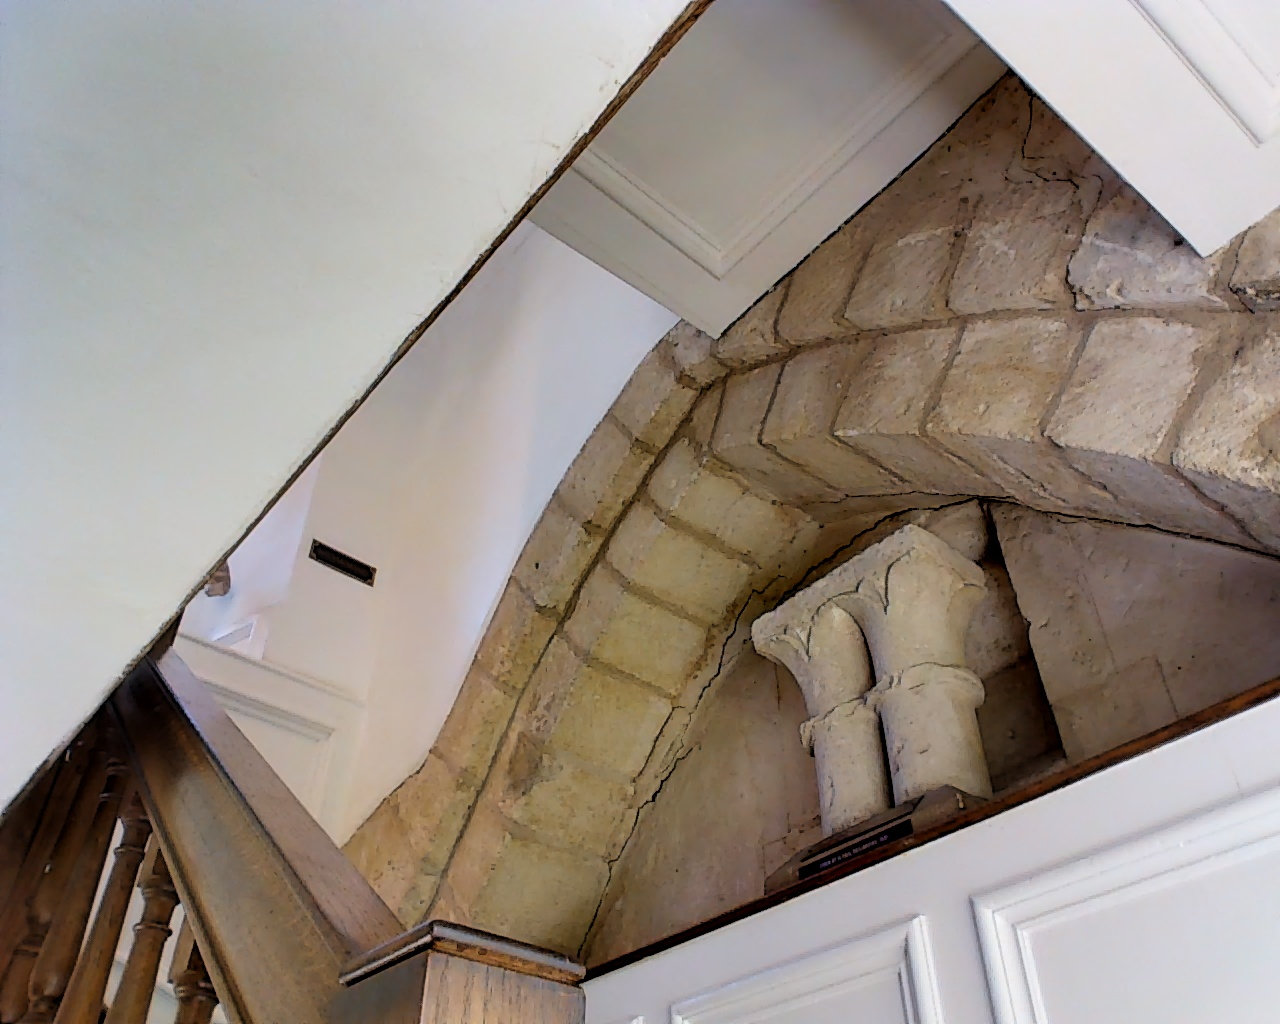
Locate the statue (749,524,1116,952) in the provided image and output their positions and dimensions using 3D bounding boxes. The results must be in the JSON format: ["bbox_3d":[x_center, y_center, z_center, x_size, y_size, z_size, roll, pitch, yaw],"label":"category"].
[{"bbox_3d":[0.470,0.400,1.870,0.300,0.540,0.450,29,-48,-29],"label":"statue"}]
